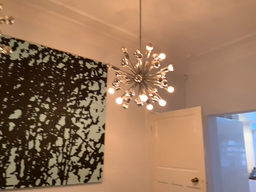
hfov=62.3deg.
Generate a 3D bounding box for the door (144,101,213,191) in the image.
[{"bbox_3d":[0.610,1.170,2.740,0.180,2.090,0.950,11,-17,-37],"label":"door"}]
